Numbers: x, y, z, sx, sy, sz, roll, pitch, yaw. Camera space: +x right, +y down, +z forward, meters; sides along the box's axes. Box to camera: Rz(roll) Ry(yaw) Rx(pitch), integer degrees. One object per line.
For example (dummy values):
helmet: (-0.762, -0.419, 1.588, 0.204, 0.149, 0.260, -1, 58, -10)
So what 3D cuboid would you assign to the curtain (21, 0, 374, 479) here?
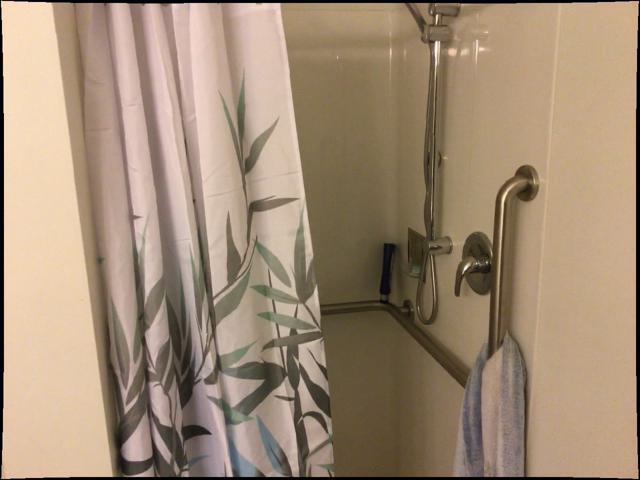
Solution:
curtain: (-0.170, 0.411, 1.150, 0.469, 1.794, 0.290, -12, 18, -29)

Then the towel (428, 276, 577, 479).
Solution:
towel: (0.409, 0.561, 1.400, 0.170, 0.872, 0.330, -6, 16, -12)
